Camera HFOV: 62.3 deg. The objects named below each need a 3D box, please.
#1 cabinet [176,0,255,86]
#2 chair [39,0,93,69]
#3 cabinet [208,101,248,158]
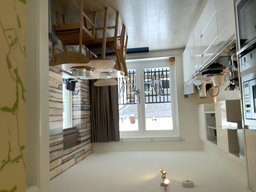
[{"bbox_3d":[1.320,-0.810,3.400,0.590,0.890,3.220,-2,176,5],"label":"cabinet"},{"bbox_3d":[-0.780,-0.820,2.770,0.490,0.820,0.560,-2,176,7],"label":"chair"},{"bbox_3d":[1.500,0.480,3.240,0.310,0.780,0.610,-2,176,5],"label":"cabinet"}]
